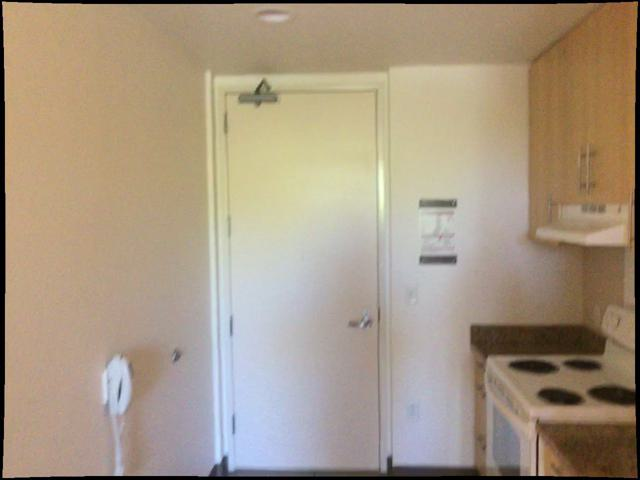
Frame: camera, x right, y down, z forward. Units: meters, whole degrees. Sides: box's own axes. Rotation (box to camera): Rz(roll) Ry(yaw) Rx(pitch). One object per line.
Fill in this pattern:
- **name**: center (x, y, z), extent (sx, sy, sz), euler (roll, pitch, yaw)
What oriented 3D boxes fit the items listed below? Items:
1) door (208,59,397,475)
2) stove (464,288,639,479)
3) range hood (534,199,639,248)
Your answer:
- **door**: center (-0.090, 0.180, 3.410), extent (1.029, 2.362, 0.270), euler (0, 6, 4)
- **stove**: center (1.069, 0.861, 2.440), extent (0.709, 1.141, 0.970), euler (0, 6, 4)
- **range hood**: center (1.059, -0.080, 2.330), extent (0.170, 0.140, 0.690), euler (0, 6, 4)
